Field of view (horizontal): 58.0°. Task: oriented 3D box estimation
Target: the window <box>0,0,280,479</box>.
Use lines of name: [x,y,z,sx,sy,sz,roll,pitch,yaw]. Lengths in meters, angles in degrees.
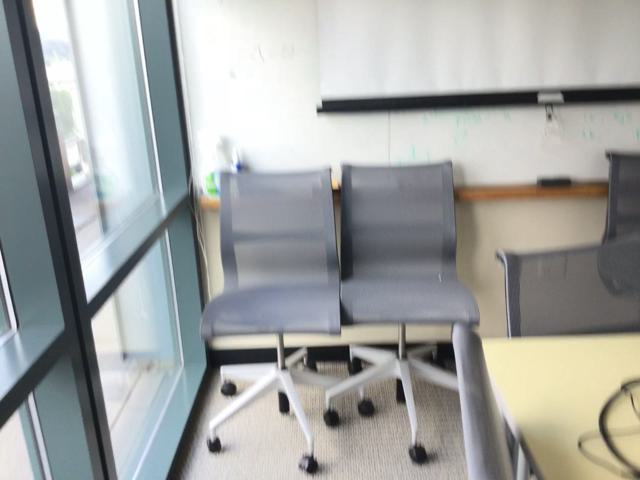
window: [-0.700,-0.330,1.190,0.570,2.750,2.310,-2,19,8]
